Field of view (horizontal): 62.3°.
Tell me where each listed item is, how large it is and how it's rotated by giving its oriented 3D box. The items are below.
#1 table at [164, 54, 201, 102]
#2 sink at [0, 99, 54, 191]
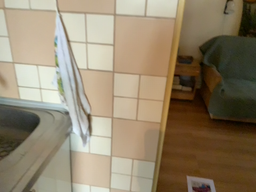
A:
[{"bbox_3d":[0.770,-0.270,3.110,0.400,0.570,0.400,7,25,5],"label":"table"},{"bbox_3d":[-0.520,0.160,0.780,0.350,0.160,0.330,7,25,6],"label":"sink"}]
